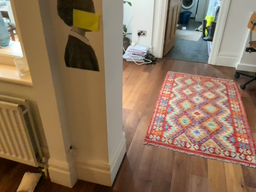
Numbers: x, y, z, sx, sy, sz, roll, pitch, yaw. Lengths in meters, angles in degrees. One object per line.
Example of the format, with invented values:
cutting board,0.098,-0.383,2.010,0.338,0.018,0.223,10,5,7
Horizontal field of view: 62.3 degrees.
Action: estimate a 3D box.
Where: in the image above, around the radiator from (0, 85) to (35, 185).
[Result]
radiator,-1.140,0.230,1.530,0.820,0.760,0.140,11,33,14
